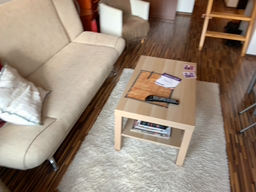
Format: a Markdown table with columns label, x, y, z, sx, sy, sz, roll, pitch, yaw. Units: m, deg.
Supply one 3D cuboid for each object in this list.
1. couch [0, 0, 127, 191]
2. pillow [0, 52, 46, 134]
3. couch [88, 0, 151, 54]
| label | x | y | z | sx | sy | sz | roll | pitch | yaw |
| --- | --- | --- | --- | --- | --- | --- | --- | --- | --- |
| couch | -0.770 | -0.330 | 1.950 | 1.020 | 0.920 | 1.950 | 11 | 38 | 10 |
| pillow | -0.780 | -0.050 | 1.470 | 0.240 | 0.390 | 0.500 | 6 | 22 | -5 |
| couch | -0.140 | -1.160 | 3.330 | 0.660 | 0.620 | 0.660 | -30 | 49 | -35 |
